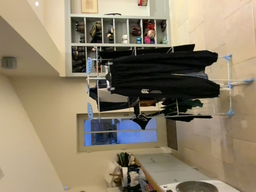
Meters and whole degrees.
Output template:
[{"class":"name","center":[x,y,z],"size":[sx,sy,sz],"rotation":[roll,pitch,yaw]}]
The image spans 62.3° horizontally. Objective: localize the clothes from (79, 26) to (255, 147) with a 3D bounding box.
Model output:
[{"class":"clothes","center":[0.440,-0.110,2.400],"size":[0.890,1.840,1.040],"rotation":[-176,84,-81]}]

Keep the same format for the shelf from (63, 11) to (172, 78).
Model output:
[{"class":"shelf","center":[-0.210,-1.070,4.520],"size":[0.330,2.190,1.300],"rotation":[151,117,-80]}]
